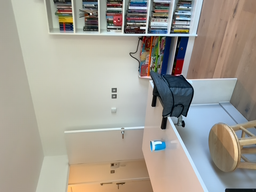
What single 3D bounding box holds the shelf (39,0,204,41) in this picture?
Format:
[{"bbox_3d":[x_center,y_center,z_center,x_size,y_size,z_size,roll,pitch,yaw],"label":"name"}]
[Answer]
[{"bbox_3d":[-0.030,-1.550,2.590,0.310,2.060,1.660,-106,16,-58],"label":"shelf"}]
